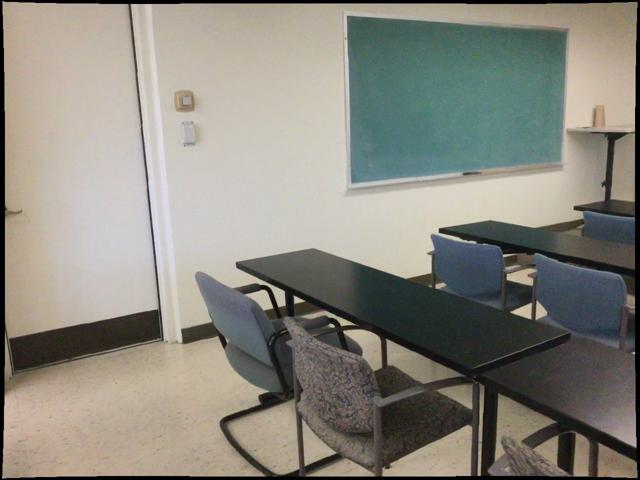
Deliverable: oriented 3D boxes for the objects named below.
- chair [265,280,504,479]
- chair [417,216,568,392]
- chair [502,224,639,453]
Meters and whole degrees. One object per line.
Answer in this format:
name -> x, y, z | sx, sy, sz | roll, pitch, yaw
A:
chair -> 0.209, 0.632, 2.010 | 0.549, 0.772, 0.580 | -11, 17, -31
chair -> 0.938, 0.311, 3.200 | 0.559, 0.742, 0.550 | -12, 17, -33
chair -> 1.287, 0.401, 2.680 | 0.589, 0.792, 0.570 | -11, 16, -30
